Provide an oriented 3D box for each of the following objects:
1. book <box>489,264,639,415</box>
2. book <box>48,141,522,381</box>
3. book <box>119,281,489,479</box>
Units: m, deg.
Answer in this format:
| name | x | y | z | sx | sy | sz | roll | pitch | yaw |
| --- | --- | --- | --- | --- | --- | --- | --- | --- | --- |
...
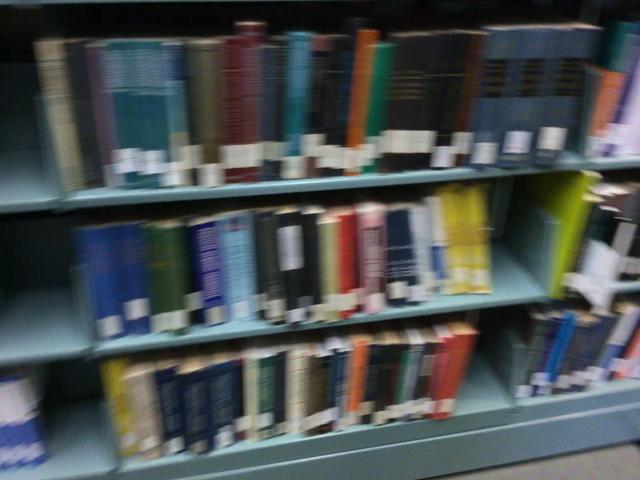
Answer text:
| name | x | y | z | sx | sy | sz | roll | pitch | yaw |
| --- | --- | --- | --- | --- | --- | --- | --- | --- | --- |
| book | 0.760 | 0.220 | 1.430 | 0.640 | 0.270 | 0.140 | -9 | 29 | -8 |
| book | -0.040 | 0.030 | 1.110 | 0.810 | 0.300 | 0.150 | -9 | 29 | -8 |
| book | -0.010 | 0.340 | 1.280 | 0.750 | 0.390 | 0.090 | -9 | 29 | -8 |
